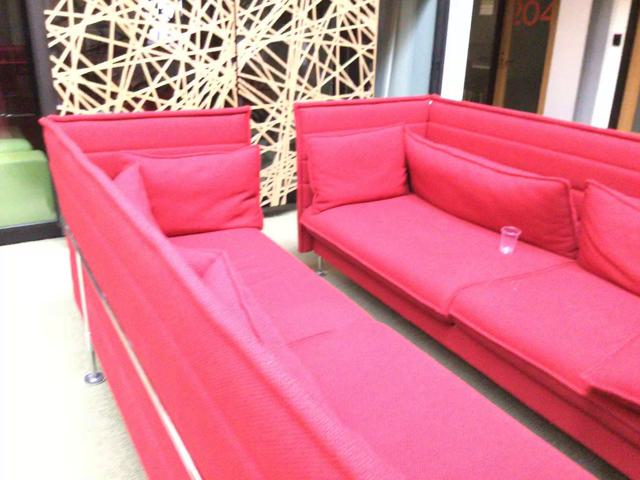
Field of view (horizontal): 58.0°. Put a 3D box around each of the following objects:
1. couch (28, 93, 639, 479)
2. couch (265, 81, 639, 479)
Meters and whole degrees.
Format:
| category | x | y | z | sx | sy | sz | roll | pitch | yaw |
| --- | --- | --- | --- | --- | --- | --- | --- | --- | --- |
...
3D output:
| category | x | y | z | sx | sy | sz | roll | pitch | yaw |
| --- | --- | --- | --- | --- | --- | --- | --- | --- | --- |
| couch | -0.140 | 0.190 | 1.690 | 0.930 | 0.880 | 2.450 | -13 | 25 | -27 |
| couch | 0.780 | -0.020 | 2.260 | 0.980 | 0.880 | 2.490 | -13 | 25 | -27 |
